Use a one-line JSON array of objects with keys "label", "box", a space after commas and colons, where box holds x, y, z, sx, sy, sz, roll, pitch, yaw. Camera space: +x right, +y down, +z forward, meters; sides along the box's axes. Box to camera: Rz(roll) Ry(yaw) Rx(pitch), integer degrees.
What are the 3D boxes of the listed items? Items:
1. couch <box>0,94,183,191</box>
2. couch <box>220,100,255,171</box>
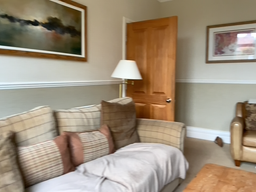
[{"label": "couch", "box": [-0.530, 0.550, 1.660, 1.200, 0.900, 2.340, 4, 7, 31]}, {"label": "couch", "box": [1.800, 0.500, 3.030, 0.820, 0.750, 1.040, 3, 6, 25]}]
